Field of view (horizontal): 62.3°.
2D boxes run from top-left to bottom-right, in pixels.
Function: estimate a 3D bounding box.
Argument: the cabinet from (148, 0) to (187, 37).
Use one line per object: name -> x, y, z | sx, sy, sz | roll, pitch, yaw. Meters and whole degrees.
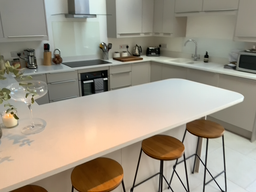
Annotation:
cabinet -> 0.780, -1.630, 4.280 | 0.440, 0.820, 0.580 | -13, 23, -35
